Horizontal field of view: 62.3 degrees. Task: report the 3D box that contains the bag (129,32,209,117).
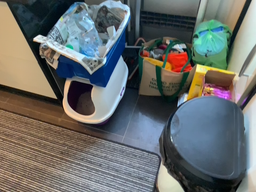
[{"bbox_3d":[0.260,-0.150,1.500,0.300,0.350,0.380,-31,67,-25],"label":"bag"}]
